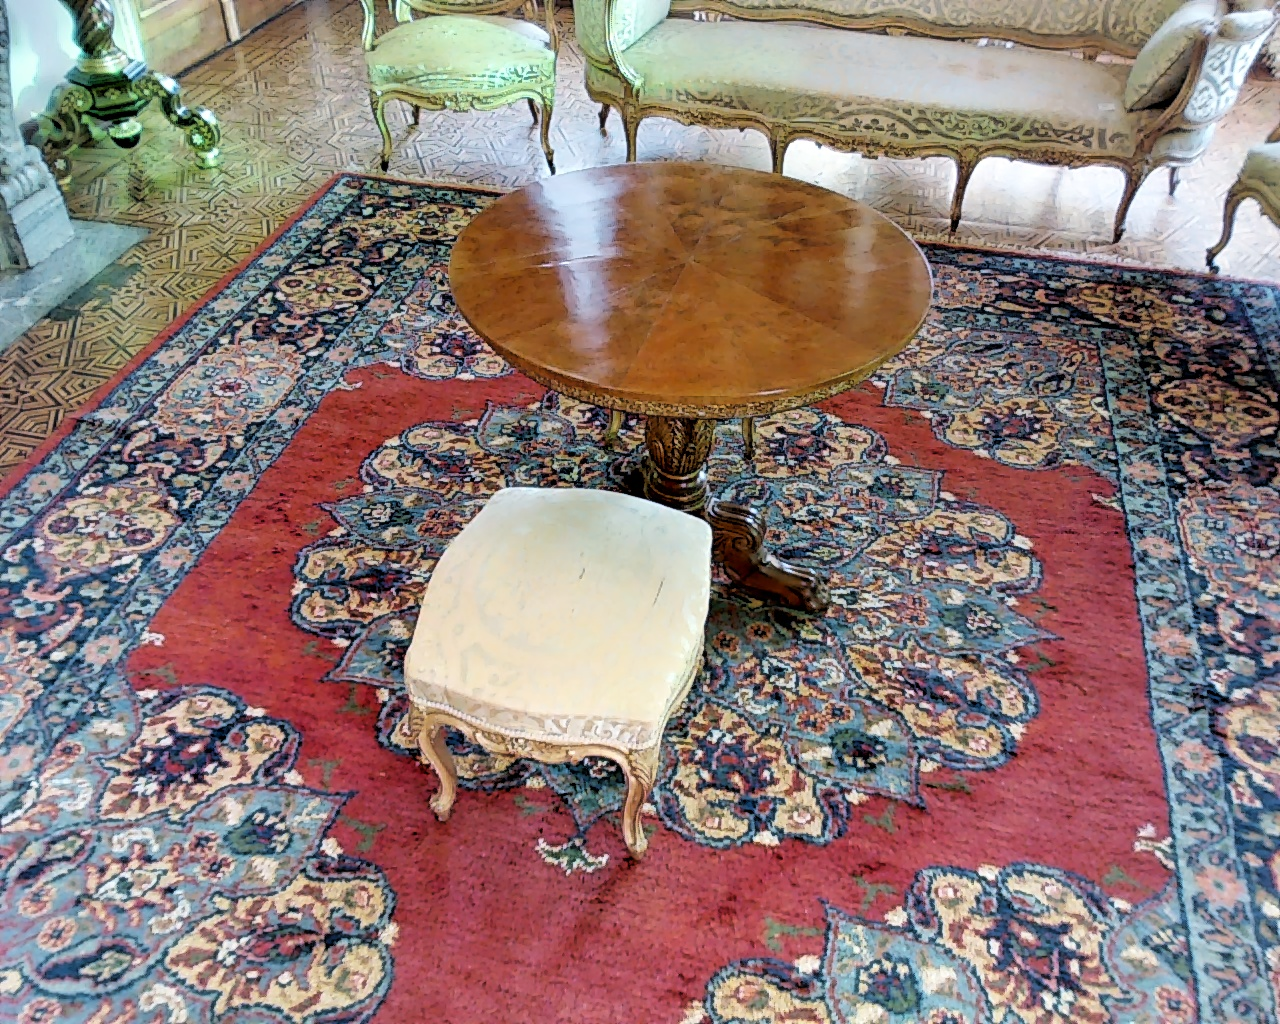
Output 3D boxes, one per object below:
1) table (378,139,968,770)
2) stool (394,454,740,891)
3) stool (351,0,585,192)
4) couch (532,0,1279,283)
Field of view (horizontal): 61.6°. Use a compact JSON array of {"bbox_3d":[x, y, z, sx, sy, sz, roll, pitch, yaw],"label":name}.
[{"bbox_3d":[0.120,-0.160,2.240,0.900,0.810,0.880,11,42,11],"label":"table"},{"bbox_3d":[-0.100,0.280,1.990,0.460,0.470,0.560,9,42,9],"label":"stool"},{"bbox_3d":[-0.600,-1.850,3.990,0.770,1.060,0.730,-1,41,-2],"label":"stool"},{"bbox_3d":[0.990,-1.780,3.850,2.539,1.160,1.020,12,42,12],"label":"couch"}]
